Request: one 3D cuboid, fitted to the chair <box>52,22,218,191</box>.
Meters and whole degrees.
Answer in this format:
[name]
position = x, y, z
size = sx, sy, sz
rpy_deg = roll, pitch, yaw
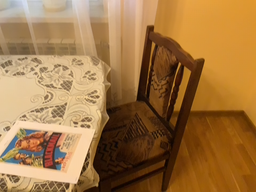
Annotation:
[chair]
position = -0.010, 0.160, 1.140
size = 0.520, 0.900, 0.460
rpy_deg = -16, 42, -21
